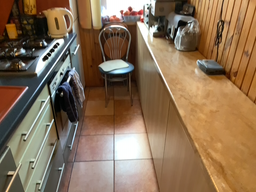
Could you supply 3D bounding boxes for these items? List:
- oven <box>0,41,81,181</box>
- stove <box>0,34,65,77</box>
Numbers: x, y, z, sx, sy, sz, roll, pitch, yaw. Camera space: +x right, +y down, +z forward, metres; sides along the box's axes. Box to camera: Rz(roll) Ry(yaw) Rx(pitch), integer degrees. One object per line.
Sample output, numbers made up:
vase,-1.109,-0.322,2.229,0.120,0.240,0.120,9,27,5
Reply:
oven,-0.760,0.100,1.660,0.600,0.890,0.610,-1,30,-3
stove,-0.780,-0.300,1.420,0.560,0.050,0.720,-1,30,-3
